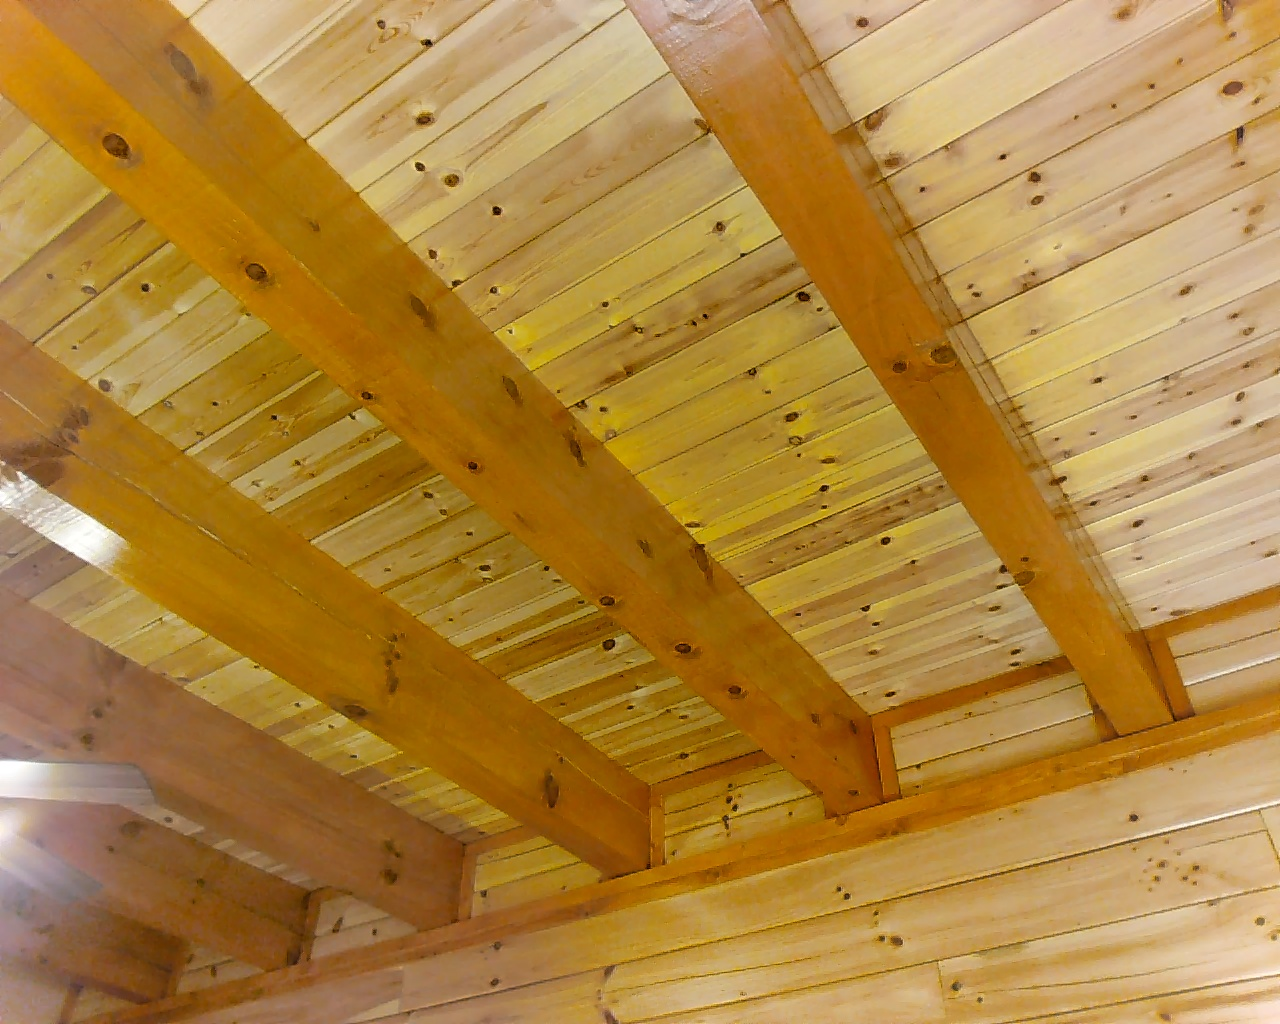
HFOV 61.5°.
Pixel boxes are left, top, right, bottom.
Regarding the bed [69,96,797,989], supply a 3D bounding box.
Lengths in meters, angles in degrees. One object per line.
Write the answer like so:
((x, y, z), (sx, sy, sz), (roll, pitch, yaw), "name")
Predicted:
((-0.870, -0.190, 3.590), (0.840, 1.540, 2.750), (44, 10, -38), "bed")
